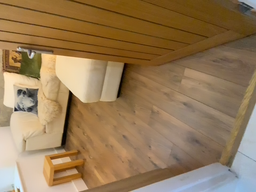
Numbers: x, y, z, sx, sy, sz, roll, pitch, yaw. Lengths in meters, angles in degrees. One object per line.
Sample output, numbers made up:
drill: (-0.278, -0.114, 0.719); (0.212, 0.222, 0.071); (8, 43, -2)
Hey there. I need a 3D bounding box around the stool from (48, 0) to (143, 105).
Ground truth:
stool: (-0.410, -0.510, 2.210); (0.930, 0.460, 0.900); (32, 116, 47)
